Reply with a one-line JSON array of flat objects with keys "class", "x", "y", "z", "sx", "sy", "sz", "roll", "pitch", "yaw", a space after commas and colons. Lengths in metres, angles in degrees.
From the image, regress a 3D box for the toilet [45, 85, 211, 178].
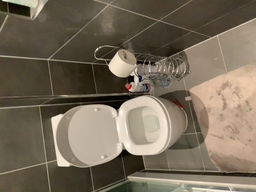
[{"class": "toilet", "x": 0.000, "y": 0.200, "z": 1.380, "sx": 0.660, "sy": 0.790, "sz": 0.380, "roll": -18, "pitch": 79, "yaw": 46}]
